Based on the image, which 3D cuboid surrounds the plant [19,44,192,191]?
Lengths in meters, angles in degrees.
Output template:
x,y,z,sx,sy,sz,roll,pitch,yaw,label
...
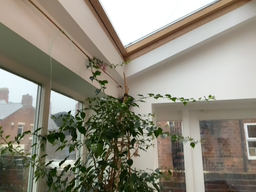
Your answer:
x,y,z,sx,sy,sz,roll,pitch,yaw,label
0.000,0.880,1.200,0.660,1.970,0.990,-5,-13,20,plant
